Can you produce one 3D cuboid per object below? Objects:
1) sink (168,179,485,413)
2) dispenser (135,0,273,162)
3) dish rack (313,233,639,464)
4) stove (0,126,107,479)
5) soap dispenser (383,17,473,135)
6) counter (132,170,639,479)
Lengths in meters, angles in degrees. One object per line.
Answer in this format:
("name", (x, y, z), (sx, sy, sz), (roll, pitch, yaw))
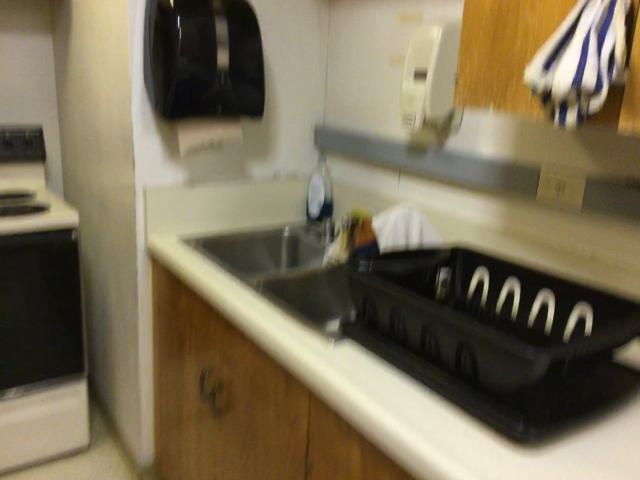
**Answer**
("sink", (-0.020, 0.080, 1.620), (0.570, 0.360, 0.690), (-8, 19, -34))
("dispenser", (-0.330, -0.470, 1.660), (0.320, 0.450, 0.210), (-8, 19, -34))
("dish rack", (0.310, 0.150, 1.120), (0.410, 0.160, 0.540), (-8, 19, -34))
("stove", (-1.340, 0.200, 2.110), (0.820, 1.140, 0.780), (-8, 19, -34))
("soap dispenser", (0.280, -0.430, 1.530), (0.130, 0.280, 0.170), (-8, 19, -34))
("counter", (0.190, 0.110, 1.300), (0.680, 0.260, 1.690), (-8, 19, -34))
